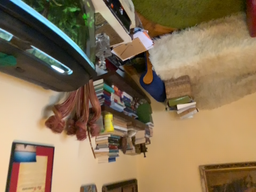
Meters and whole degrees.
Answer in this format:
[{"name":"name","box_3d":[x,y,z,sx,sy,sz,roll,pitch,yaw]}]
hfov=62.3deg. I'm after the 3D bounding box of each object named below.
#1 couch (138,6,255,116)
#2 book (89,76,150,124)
[{"name":"couch","box_3d":[1.250,-0.370,2.200,2.150,0.770,0.670,-10,161,21]},{"name":"book","box_3d":[-0.040,0.100,2.390,0.170,0.270,1.100,-11,161,24]}]
